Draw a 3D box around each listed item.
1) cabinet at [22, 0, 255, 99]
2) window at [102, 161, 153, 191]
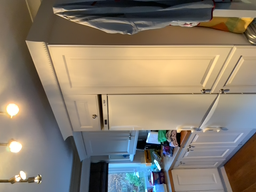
[{"bbox_3d":[0.430,-0.410,1.790,0.520,2.230,0.660,95,173,-50],"label":"cabinet"},{"bbox_3d":[0.000,1.740,3.620,0.050,0.870,1.290,94,173,-47],"label":"window"}]
